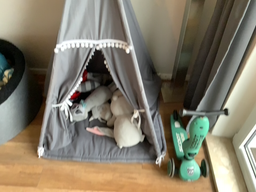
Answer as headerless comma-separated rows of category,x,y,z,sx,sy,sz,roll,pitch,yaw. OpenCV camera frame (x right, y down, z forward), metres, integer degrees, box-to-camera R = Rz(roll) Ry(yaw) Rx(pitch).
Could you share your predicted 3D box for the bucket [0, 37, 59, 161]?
bucket,-1.230,-0.030,1.690,1.020,0.450,0.910,2,46,1
